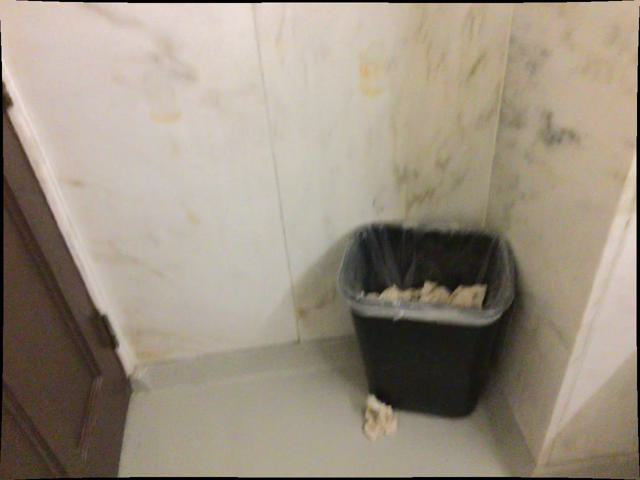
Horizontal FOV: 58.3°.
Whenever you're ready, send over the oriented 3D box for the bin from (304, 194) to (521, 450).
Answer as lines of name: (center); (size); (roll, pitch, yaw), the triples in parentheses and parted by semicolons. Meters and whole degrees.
bin: (0.240, 0.200, 1.480); (0.440, 0.460, 0.360); (9, 40, 16)
